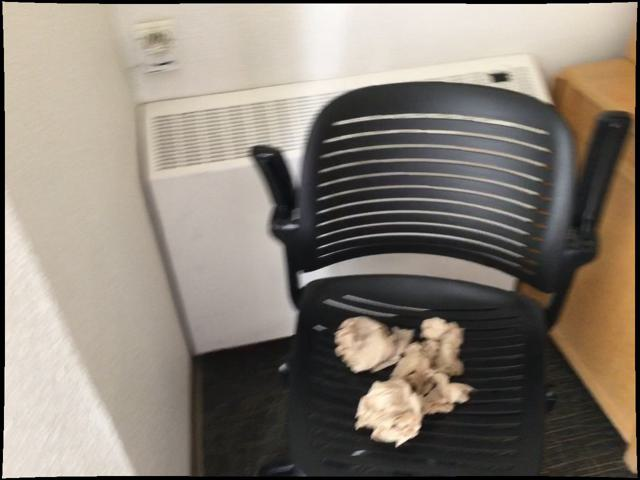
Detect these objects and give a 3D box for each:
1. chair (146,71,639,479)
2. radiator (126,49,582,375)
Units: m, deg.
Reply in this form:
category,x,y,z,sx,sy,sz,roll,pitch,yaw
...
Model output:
category,x,y,z,sx,sy,sz,roll,pitch,yaw
chair,0.150,0.231,1.110,0.588,0.901,0.601,2,40,5
radiator,0.090,-0.050,1.490,0.978,0.701,0.200,-10,41,-9
